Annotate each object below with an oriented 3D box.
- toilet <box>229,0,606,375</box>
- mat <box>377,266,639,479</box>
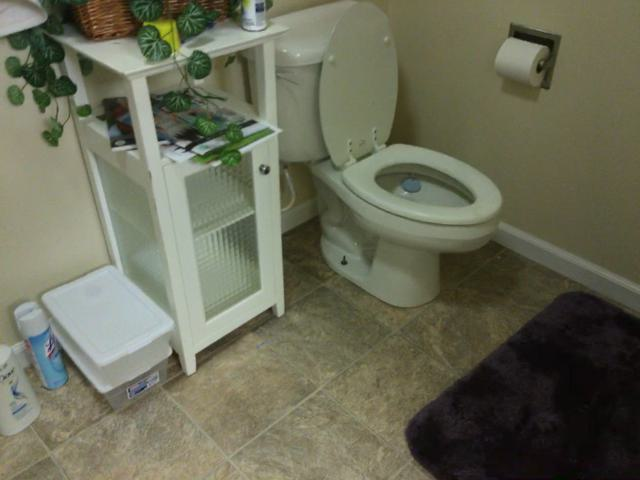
[{"bbox_3d":[0.240,-0.250,1.750,0.630,0.830,0.750,-28,43,-35],"label":"toilet"},{"bbox_3d":[0.660,0.410,1.480,0.880,0.050,0.560,-29,44,-29],"label":"mat"}]
